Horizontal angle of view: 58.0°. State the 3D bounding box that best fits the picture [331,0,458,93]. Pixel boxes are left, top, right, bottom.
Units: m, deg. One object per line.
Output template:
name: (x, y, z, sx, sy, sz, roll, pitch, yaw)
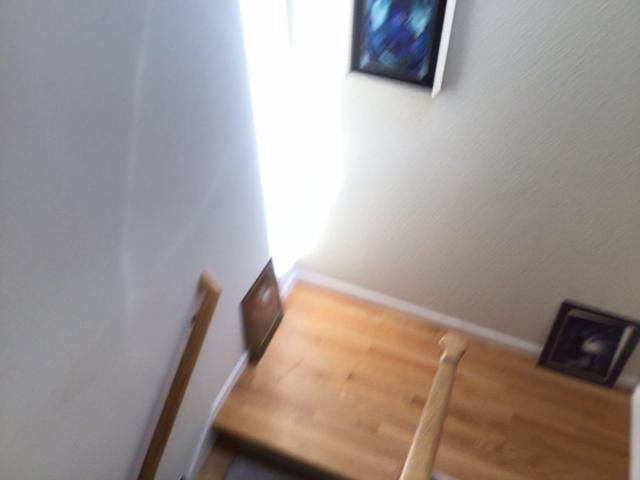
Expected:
picture: (0.300, -0.880, 2.340, 0.500, 0.560, 0.060, 10, 46, 22)
